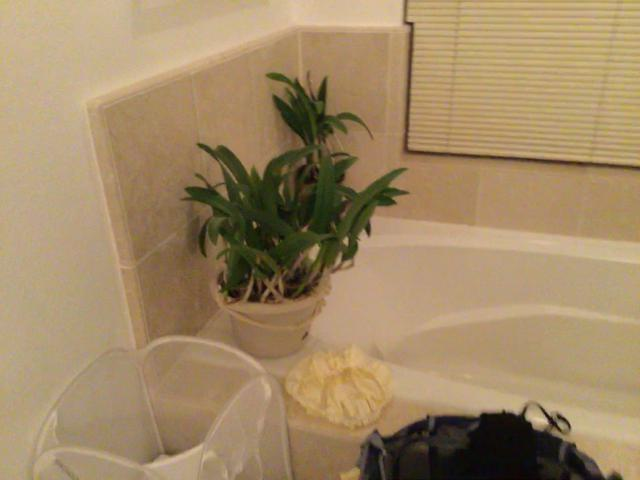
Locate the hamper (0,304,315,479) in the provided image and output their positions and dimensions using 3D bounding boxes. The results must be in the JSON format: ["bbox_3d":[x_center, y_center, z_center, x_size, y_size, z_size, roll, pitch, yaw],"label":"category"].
[{"bbox_3d":[-0.250,0.540,1.180,0.350,0.670,0.410,4,28,18],"label":"hamper"}]

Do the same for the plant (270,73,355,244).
[{"bbox_3d":[-0.010,-0.260,1.840,0.160,0.480,0.240,4,28,18],"label":"plant"}]

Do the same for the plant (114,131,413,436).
[{"bbox_3d":[-0.070,0.060,1.250,0.470,0.490,0.390,4,28,18],"label":"plant"}]

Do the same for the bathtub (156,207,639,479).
[{"bbox_3d":[0.700,0.410,1.540,1.870,0.540,1.020,4,28,19],"label":"bathtub"}]
